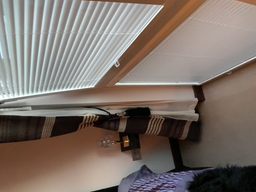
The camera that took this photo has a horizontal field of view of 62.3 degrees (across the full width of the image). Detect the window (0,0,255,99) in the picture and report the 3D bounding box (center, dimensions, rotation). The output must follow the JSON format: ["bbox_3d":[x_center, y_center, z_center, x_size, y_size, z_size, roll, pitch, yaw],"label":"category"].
[{"bbox_3d":[-0.130,-0.180,0.910,1.120,2.160,0.050,-34,62,59],"label":"window"}]

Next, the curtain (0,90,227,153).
[{"bbox_3d":[-0.460,0.180,1.310,0.610,2.330,0.210,-34,62,59],"label":"curtain"}]
